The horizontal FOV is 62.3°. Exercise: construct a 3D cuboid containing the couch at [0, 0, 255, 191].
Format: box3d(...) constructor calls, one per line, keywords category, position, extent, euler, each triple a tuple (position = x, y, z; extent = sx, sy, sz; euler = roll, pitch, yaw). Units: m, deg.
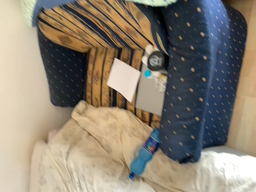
box3d(category="couch", position=(-0.090, -0.260, 1.420), extent=(1.450, 1.020, 0.970), euler=(15, 100, 44))
